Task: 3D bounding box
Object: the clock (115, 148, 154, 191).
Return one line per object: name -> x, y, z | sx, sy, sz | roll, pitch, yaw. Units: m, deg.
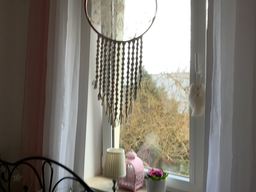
clock -> 0.050, 0.520, 1.460 | 0.190, 0.270, 0.180 | 2, -2, 34
